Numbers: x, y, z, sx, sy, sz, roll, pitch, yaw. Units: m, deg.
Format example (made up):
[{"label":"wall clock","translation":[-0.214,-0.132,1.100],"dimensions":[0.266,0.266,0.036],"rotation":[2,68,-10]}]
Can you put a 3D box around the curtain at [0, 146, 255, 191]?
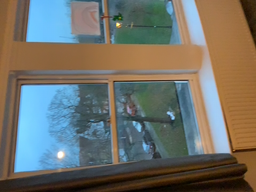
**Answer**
[{"label":"curtain","translation":[-0.010,0.580,1.230],"dimensions":[0.210,1.900,0.410],"rotation":[119,147,-67]}]
